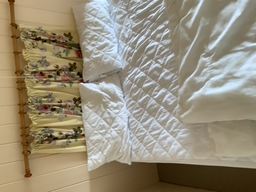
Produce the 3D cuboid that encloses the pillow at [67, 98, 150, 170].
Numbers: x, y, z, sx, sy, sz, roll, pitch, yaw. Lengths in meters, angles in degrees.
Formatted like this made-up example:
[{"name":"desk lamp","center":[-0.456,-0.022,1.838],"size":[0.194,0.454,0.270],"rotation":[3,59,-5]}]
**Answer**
[{"name":"pillow","center":[-0.140,0.300,1.670],"size":[0.530,0.370,0.170],"rotation":[27,163,-22]}]
